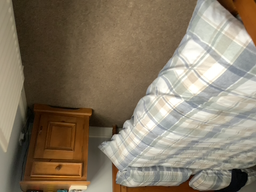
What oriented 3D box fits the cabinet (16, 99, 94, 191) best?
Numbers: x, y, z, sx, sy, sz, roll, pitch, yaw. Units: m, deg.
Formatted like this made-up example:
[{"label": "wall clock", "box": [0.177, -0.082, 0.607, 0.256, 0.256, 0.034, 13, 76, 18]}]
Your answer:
[{"label": "cabinet", "box": [-0.670, 0.490, 2.060, 0.570, 0.750, 0.440, 7, 146, -17]}]
